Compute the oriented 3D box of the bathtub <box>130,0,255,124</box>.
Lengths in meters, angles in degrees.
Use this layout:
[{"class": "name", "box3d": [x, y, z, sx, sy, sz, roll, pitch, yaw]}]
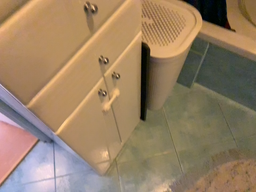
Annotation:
[{"class": "bathtub", "box3d": [0.950, -0.190, 1.180, 1.780, 0.480, 0.670, 30, 68, 17]}]
